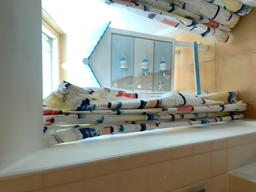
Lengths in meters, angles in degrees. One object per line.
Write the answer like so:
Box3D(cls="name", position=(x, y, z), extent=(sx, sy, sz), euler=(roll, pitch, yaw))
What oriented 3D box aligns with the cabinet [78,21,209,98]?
Box3D(cls="cabinet", position=(0.150, -0.200, 1.420), extent=(0.200, 0.930, 0.390), euler=(6, 96, 58))
